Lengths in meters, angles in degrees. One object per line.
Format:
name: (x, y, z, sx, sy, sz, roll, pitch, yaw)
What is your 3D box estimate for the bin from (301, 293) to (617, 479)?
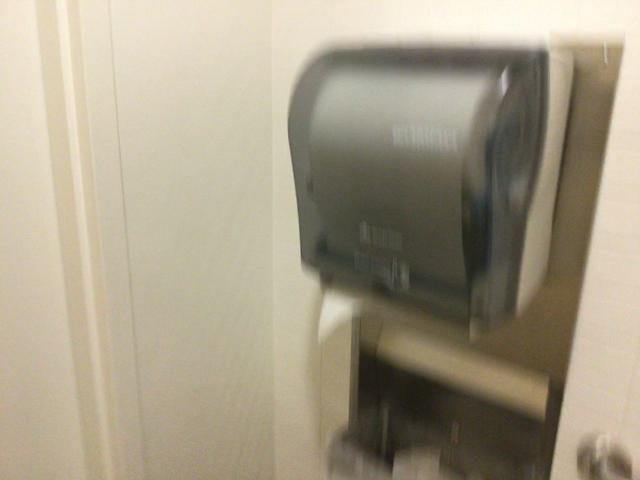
bin: (0.220, 0.580, 1.120, 0.470, 0.820, 0.260, 15, 20, 41)

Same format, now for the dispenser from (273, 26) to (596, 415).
dispenser: (0.150, -0.060, 0.880, 0.370, 0.460, 0.260, 15, 20, 41)
